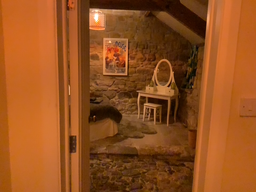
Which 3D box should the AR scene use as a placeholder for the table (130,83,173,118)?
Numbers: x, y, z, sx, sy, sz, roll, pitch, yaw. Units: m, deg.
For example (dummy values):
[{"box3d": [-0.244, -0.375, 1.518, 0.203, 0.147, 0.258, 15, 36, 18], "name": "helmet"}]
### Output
[{"box3d": [0.610, 0.090, 5.570, 0.960, 0.750, 0.490, 8, 12, 34], "name": "table"}]
